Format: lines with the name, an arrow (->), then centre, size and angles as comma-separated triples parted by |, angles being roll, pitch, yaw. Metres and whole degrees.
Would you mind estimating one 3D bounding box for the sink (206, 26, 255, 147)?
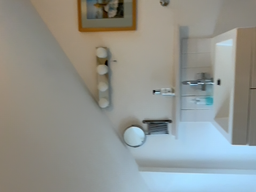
sink -> 0.630, -0.070, 1.290 | 0.450, 0.160, 0.610 | -59, -32, -79
